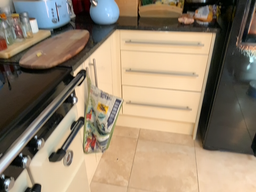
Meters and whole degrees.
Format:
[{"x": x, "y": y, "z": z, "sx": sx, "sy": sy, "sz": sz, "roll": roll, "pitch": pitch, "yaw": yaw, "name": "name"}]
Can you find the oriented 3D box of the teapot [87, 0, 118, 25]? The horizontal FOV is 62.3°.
[{"x": -0.160, "y": -0.590, "z": 1.380, "sx": 0.180, "sy": 0.210, "sz": 0.150, "roll": 0, "pitch": 32, "yaw": 1, "name": "teapot"}]
